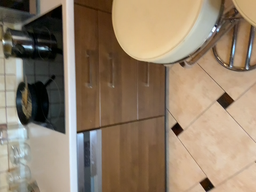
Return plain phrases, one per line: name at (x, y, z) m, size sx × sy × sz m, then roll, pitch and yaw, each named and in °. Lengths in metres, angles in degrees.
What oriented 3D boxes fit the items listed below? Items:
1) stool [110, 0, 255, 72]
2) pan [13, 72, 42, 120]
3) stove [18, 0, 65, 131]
stool at (0.360, -0.300, 0.920) m, size 0.340 × 0.850 × 0.340 m, roll 2°, pitch 94°, yaw 45°
pan at (-0.590, -0.010, 1.230) m, size 0.280 × 0.060 × 0.250 m, roll 8°, pitch 99°, yaw 45°
stove at (-0.490, -0.150, 1.160) m, size 0.530 × 0.020 × 0.600 m, roll 3°, pitch 95°, yaw 45°
